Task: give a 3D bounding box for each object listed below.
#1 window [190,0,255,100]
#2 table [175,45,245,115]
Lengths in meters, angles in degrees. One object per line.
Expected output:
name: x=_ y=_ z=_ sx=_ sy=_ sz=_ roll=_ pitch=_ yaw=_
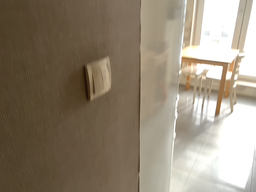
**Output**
window: x=1.870 y=-1.140 z=3.310 sx=1.540 sy=2.430 sz=0.130 roll=15 pitch=29 yaw=31
table: x=1.250 y=-0.300 z=3.250 sx=0.760 sy=0.740 sz=0.780 roll=14 pitch=29 yaw=30
